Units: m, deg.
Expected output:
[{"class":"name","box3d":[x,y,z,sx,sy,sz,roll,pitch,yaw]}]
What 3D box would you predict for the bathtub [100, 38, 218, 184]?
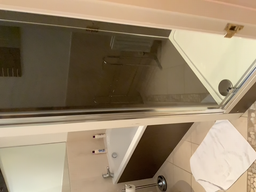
[{"class":"bathtub","box3d":[0.180,0.270,2.470,1.650,0.580,0.710,111,149,-41]}]
